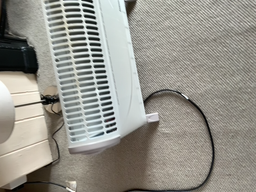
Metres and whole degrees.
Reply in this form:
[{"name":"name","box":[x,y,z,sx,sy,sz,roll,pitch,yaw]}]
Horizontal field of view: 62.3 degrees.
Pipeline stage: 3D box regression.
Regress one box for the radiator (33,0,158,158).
[{"name":"radiator","box":[-0.080,-0.130,0.720,0.140,0.380,0.550,-12,91,27]}]
